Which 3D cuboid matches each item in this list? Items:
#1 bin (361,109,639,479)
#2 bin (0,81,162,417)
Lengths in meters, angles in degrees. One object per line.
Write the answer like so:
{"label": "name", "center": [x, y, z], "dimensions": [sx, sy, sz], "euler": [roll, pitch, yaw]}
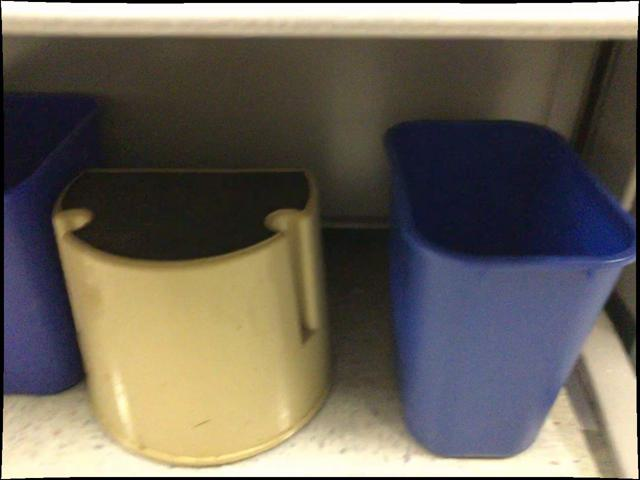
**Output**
{"label": "bin", "center": [0.219, 0.070, 0.860], "dimensions": [0.289, 0.391, 0.380], "euler": [3, 36, 4]}
{"label": "bin", "center": [-0.489, 0.000, 0.950], "dimensions": [0.279, 0.391, 0.380], "euler": [3, 36, 4]}
